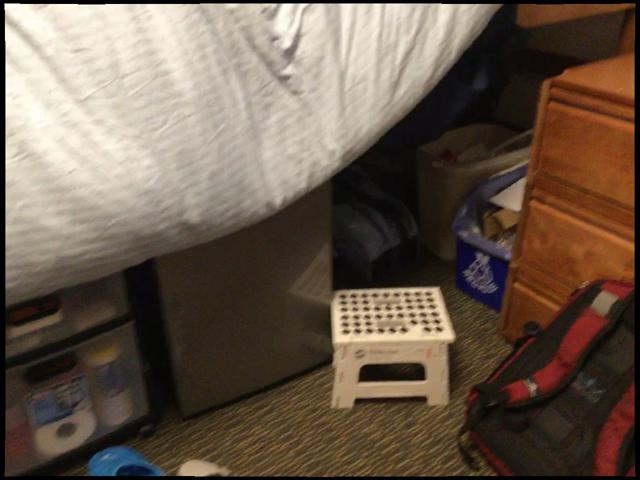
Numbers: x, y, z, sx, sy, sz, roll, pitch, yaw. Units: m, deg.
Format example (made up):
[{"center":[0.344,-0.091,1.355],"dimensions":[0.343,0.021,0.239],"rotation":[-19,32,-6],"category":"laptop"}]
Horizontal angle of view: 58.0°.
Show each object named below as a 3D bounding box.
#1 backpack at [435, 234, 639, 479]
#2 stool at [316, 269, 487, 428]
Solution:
[{"center":[0.589,0.321,1.290],"dimensions":[0.410,0.411,0.450],"rotation":[-21,38,-31],"category":"backpack"},{"center":[0.190,0.281,1.560],"dimensions":[0.389,0.240,0.350],"rotation":[-1,32,-2],"category":"stool"}]
